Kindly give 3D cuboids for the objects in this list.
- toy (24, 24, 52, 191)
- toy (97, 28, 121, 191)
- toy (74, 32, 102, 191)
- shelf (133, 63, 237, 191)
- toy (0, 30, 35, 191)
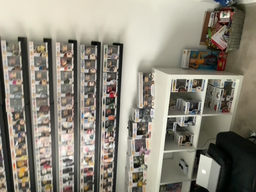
[{"bbox_3d":[-0.820,0.290,1.990,0.180,0.160,1.810,-138,50,-69],"label":"toy"},{"bbox_3d":[-0.210,0.260,2.160,0.190,0.140,1.810,-135,47,-68],"label":"toy"},{"bbox_3d":[-0.410,0.280,2.090,0.190,0.230,1.720,-140,51,-69],"label":"toy"},{"bbox_3d":[0.530,0.420,2.250,0.420,0.760,1.460,-131,43,-66],"label":"shelf"},{"bbox_3d":[-1.010,0.310,1.940,0.210,0.200,1.730,-141,52,-70],"label":"toy"}]
